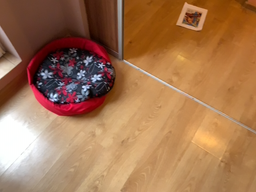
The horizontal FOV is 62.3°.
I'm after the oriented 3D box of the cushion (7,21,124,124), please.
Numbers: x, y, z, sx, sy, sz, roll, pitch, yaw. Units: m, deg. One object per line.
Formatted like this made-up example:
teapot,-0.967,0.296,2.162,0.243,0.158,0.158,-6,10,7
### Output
cushion,-0.390,-0.180,1.440,0.520,0.190,0.520,30,64,14
